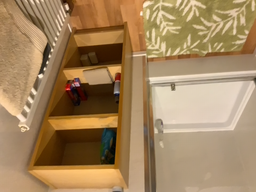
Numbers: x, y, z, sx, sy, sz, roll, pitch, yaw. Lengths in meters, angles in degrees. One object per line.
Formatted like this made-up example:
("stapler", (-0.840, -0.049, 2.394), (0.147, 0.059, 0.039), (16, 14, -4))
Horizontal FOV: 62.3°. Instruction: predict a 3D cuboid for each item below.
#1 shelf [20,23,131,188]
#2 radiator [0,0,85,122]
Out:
("shelf", (-0.220, -0.020, 1.320), (0.430, 1.050, 0.270), (-2, -38, 6))
("radiator", (-0.450, -0.410, 0.930), (0.200, 0.810, 0.660), (-4, -38, 8))
